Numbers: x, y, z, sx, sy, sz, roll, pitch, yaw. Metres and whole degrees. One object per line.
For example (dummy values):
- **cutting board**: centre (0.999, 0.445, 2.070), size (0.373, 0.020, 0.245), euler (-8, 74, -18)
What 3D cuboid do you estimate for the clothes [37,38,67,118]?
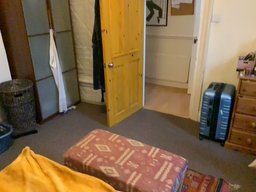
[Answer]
- **clothes**: centre (-1.050, -0.240, 2.980), size (0.090, 1.090, 0.260), euler (11, 27, 24)

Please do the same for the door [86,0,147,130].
- **door**: centre (-0.100, -0.620, 2.730), size (0.150, 1.990, 0.870), euler (20, 31, 37)
